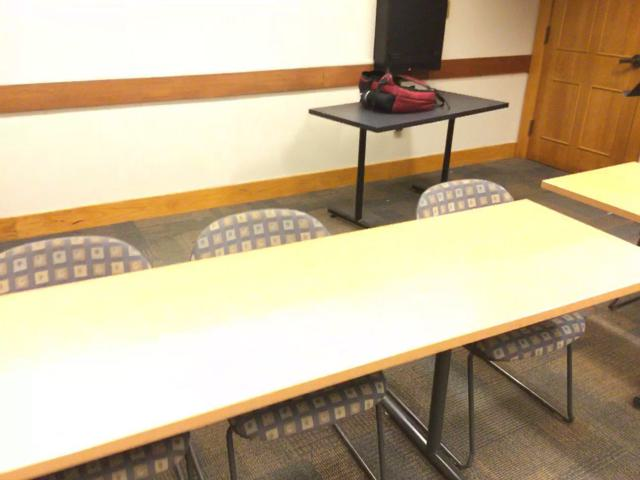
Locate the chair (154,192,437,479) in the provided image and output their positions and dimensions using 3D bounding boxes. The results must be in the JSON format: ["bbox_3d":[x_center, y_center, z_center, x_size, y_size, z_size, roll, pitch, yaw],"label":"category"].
[{"bbox_3d":[-0.090,0.320,1.610,0.520,0.710,0.590,-12,24,-26],"label":"chair"}]

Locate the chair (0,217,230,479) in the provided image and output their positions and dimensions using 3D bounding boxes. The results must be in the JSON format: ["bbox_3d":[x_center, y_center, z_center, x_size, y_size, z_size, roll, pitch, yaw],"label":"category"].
[{"bbox_3d":[-0.550,0.430,1.370,0.480,0.750,0.630,-12,24,-26],"label":"chair"}]

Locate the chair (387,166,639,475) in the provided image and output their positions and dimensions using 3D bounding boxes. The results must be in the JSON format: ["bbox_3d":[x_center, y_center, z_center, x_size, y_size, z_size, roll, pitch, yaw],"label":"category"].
[{"bbox_3d":[0.600,0.210,1.920,0.460,0.740,0.610,-12,24,-26],"label":"chair"}]
